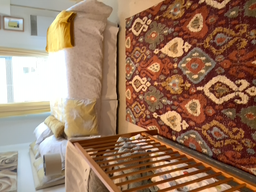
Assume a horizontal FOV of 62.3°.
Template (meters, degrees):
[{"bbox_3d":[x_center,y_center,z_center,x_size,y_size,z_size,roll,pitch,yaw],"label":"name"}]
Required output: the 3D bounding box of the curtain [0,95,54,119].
[{"bbox_3d":[-2.280,0.210,3.730,0.230,1.840,0.350,10,101,61],"label":"curtain"}]
